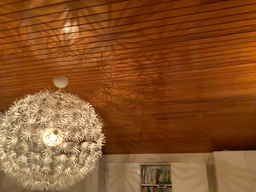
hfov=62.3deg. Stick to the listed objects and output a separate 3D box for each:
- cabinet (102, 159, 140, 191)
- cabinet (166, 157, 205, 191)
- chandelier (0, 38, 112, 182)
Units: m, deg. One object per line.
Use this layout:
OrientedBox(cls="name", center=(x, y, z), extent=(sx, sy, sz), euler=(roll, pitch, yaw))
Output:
OrientedBox(cls="cabinet", center=(-0.120, 1.580, 4.100), extent=(0.620, 0.640, 0.510), euler=(-5, -22, 12))
OrientedBox(cls="cabinet", center=(1.040, 1.490, 3.870), extent=(0.600, 0.650, 0.490), euler=(-5, -22, 12))
OrientedBox(cls="chandelier", center=(-0.720, 0.240, 1.960), extent=(0.780, 1.020, 0.820), euler=(18, -28, -38))
